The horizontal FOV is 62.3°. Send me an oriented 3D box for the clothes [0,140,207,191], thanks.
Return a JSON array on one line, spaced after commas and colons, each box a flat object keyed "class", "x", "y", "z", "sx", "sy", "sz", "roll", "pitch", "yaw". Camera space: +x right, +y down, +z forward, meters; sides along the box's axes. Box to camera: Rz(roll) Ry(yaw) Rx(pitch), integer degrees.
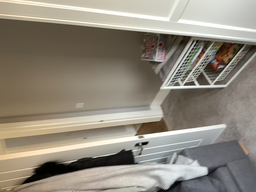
[{"class": "clothes", "x": -0.270, "y": 0.750, "z": 1.540, "sx": 0.840, "sy": 1.450, "sz": 0.260, "roll": 114, "pitch": 144, "yaw": -45}]
